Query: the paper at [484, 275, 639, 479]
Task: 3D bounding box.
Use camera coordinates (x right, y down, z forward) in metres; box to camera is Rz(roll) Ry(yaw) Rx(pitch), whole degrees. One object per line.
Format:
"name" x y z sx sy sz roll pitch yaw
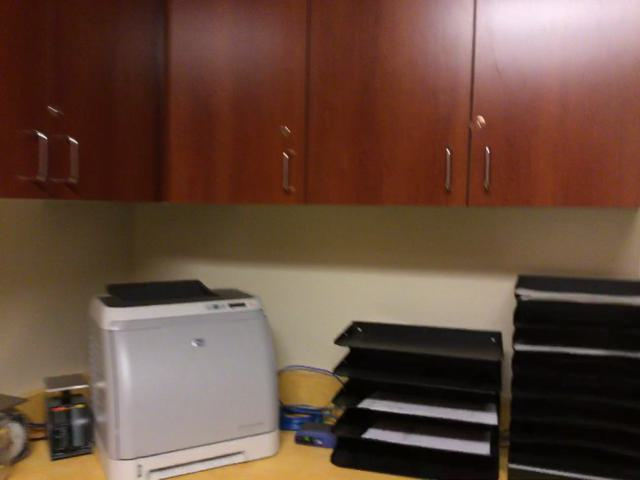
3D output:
"paper" 0.580 0.310 1.350 0.350 0.430 0.340 -1 1 20

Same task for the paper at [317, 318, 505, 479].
"paper" 0.250 0.380 1.450 0.390 0.300 0.420 -1 1 20
